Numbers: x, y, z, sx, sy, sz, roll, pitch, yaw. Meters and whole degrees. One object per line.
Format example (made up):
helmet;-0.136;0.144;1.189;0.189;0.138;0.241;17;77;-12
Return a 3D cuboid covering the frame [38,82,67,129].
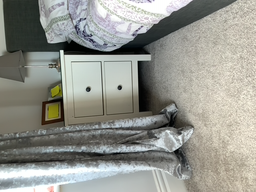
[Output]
frame;-0.600;0.070;1.710;0.180;0.170;0.340;-169;87;-74
